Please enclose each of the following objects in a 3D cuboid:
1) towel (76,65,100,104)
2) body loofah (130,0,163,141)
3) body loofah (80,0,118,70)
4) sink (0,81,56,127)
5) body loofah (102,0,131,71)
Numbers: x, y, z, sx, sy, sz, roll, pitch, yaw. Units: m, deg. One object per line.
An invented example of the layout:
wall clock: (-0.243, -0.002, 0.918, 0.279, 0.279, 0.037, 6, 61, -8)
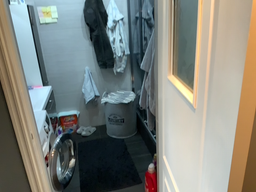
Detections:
towel: (-0.580, -0.170, 3.090, 0.270, 0.500, 0.170, -9, 22, -14)
body loofah: (0.170, -0.230, 1.950, 0.170, 1.240, 0.360, -7, 21, -11)
body loofah: (-0.390, -0.920, 2.840, 0.410, 1.090, 0.200, -6, 21, -8)
sink: (-1.100, 0.050, 2.400, 0.430, 0.180, 0.790, -7, 21, -10)
body loofah: (-0.150, -0.850, 2.950, 0.310, 0.980, 0.130, -8, 21, -12)
